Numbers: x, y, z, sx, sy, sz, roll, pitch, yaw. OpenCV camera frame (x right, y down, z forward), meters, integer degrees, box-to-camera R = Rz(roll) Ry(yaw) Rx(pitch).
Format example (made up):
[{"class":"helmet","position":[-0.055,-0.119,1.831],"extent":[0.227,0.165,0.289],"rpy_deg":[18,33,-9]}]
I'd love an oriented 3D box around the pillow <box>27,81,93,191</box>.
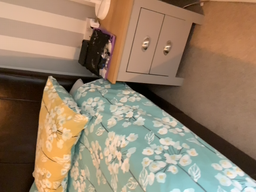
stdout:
[{"class":"pillow","position":[-0.410,0.300,1.170],"extent":[0.390,0.190,0.660],"rpy_deg":[42,122,53]}]
